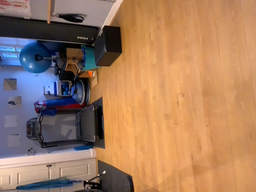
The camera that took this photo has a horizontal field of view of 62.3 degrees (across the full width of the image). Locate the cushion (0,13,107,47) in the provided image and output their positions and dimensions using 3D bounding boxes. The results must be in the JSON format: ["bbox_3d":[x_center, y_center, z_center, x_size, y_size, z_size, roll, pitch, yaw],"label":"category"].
[{"bbox_3d":[-1.420,-1.130,3.730,0.740,1.970,0.180,168,100,-68],"label":"cushion"}]
